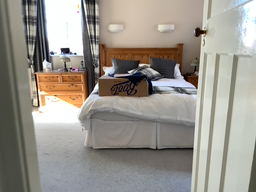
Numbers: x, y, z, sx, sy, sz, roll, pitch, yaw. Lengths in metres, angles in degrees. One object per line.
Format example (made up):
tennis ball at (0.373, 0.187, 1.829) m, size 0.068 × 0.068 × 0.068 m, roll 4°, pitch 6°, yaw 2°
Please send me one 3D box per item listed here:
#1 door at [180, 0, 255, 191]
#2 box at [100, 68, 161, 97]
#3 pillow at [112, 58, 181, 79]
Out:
door at (0.450, -0.040, 1.020) m, size 0.130 × 1.930 × 0.710 m, roll 0°, pitch 14°, yaw 0°
box at (0.010, -0.190, 2.700) m, size 0.700 × 0.270 × 0.520 m, roll -2°, pitch 14°, yaw -6°
pillow at (0.300, -0.520, 3.850) m, size 1.160 × 0.300 × 0.530 m, roll -2°, pitch 14°, yaw -7°
